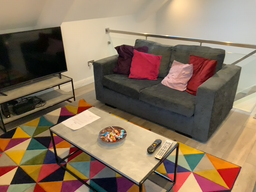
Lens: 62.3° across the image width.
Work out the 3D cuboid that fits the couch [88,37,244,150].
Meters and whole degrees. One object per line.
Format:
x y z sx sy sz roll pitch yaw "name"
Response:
0.420 -0.210 2.830 1.650 0.840 0.980 20 32 37 "couch"
